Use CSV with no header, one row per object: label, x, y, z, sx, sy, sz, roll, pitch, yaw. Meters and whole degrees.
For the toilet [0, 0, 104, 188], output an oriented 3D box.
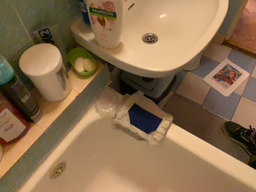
toilet,-0.330,0.050,0.520,0.160,0.250,0.620,31,64,18
